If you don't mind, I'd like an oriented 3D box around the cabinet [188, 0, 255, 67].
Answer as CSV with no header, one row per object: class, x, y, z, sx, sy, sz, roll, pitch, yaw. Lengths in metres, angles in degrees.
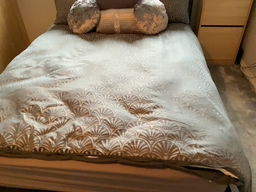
cabinet,1.050,-0.820,2.450,0.530,0.920,0.320,3,39,5
